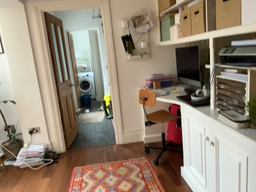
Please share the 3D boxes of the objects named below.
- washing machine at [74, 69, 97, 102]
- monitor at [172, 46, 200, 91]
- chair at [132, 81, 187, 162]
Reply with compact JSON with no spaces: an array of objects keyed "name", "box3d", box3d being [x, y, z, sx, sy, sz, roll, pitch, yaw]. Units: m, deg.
[{"name":"washing machine","box3d":[-1.370,-0.350,6.860,0.580,0.920,0.640,-8,12,-11]},{"name":"monitor","box3d":[0.710,-0.360,2.660,0.050,0.490,0.660,-9,13,-8]},{"name":"chair","box3d":[0.410,0.290,2.730,0.530,0.880,0.380,-11,14,-27]}]
